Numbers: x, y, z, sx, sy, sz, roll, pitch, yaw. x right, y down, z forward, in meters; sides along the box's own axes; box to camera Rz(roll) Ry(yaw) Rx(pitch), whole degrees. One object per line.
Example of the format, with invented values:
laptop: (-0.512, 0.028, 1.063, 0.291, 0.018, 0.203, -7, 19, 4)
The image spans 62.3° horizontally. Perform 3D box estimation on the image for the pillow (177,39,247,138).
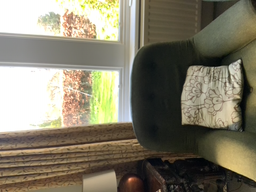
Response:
pillow: (0.490, -0.040, 1.300, 0.330, 0.240, 0.520, -172, 83, -76)

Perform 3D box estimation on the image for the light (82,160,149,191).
light: (-0.100, 0.680, 1.510, 0.220, 0.430, 0.330, -160, 71, -73)

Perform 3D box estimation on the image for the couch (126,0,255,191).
couch: (0.510, -0.020, 1.290, 0.840, 0.830, 0.850, 160, 109, -73)
